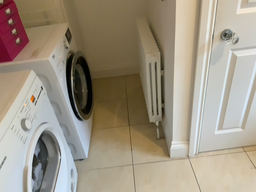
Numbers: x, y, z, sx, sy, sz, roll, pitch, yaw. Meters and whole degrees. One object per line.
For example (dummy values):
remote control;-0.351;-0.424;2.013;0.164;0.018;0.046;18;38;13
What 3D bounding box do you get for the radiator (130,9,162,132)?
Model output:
radiator;0.150;-0.280;1.910;0.140;0.720;0.960;-6;36;1
